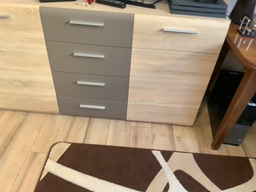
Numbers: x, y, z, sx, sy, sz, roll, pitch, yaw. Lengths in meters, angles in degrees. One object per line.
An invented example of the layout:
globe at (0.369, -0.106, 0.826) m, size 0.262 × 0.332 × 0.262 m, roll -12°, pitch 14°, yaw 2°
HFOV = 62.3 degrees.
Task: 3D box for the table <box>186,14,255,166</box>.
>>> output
table at (1.100, -0.020, 1.420) m, size 1.140 × 0.710 × 0.700 m, roll 5°, pitch 40°, yaw 0°
